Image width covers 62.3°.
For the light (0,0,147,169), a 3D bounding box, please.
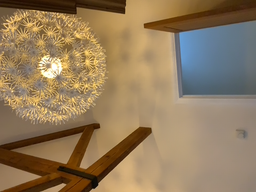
[{"bbox_3d":[-1.130,-0.200,2.230,1.380,2.080,1.090,56,-135,-43],"label":"light"}]
